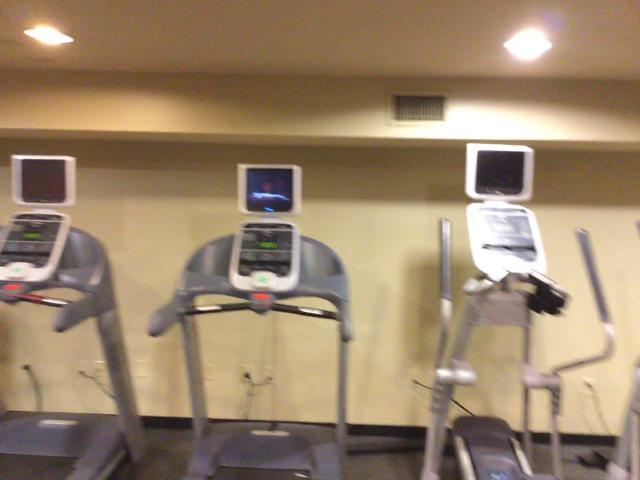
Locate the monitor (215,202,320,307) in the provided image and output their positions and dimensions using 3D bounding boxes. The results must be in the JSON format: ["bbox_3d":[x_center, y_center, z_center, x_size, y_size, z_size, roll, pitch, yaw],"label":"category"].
[{"bbox_3d":[-0.260,0.070,2.910,0.320,0.410,0.140,45,4,-4],"label":"monitor"}]

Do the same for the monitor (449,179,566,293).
[{"bbox_3d":[0.890,-0.020,2.770,0.330,0.420,0.110,39,5,2],"label":"monitor"}]
